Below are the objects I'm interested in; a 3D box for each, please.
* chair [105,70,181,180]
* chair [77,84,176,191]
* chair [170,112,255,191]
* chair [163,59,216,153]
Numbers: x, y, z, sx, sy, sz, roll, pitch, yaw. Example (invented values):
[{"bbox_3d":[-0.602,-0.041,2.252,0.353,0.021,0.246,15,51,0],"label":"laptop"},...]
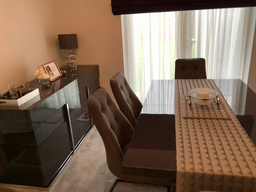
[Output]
[{"bbox_3d":[0.170,0.260,2.090,0.620,0.940,0.470,1,20,10],"label":"chair"},{"bbox_3d":[0.040,0.430,1.630,0.600,0.940,0.450,1,20,10],"label":"chair"},{"bbox_3d":[0.460,0.630,0.990,0.480,0.950,0.580,0,20,7],"label":"chair"},{"bbox_3d":[0.700,0.080,2.520,0.490,0.940,0.580,3,21,15],"label":"chair"}]
